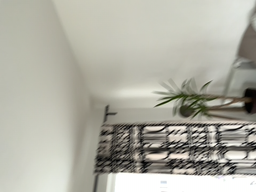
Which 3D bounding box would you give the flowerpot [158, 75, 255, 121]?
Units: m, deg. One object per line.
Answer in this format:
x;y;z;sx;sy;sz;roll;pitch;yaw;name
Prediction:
1.000;0.040;2.480;0.510;1.280;0.240;79;-168;-50;flowerpot
